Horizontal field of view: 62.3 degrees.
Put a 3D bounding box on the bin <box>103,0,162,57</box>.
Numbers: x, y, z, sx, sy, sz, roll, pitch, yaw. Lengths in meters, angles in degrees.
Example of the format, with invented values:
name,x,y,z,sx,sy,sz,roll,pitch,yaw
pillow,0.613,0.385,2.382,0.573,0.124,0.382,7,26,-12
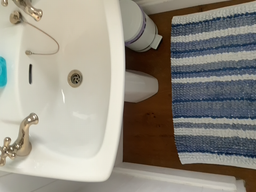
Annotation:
name,x,y,z,sx,sy,sz,roll,pitch,yaw
bin,0.040,-0.350,1.140,0.210,0.330,0.200,-1,89,24
